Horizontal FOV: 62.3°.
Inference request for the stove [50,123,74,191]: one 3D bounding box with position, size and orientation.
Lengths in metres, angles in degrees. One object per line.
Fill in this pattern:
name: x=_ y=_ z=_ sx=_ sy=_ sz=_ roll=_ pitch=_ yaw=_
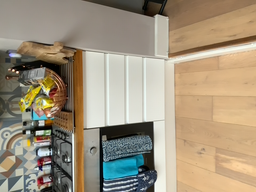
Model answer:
stove: x=-0.490 y=0.490 z=1.540 sx=0.490 sy=0.020 sz=0.540 roll=0 pitch=91 yaw=56
